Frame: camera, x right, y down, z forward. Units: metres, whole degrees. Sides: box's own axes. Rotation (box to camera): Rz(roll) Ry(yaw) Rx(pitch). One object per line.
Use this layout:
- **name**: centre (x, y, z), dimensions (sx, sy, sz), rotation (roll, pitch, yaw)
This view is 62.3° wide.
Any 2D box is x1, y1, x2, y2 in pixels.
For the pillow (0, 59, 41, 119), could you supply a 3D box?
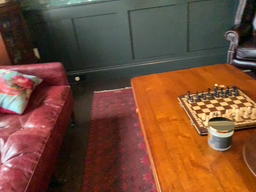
- **pillow**: centre (-0.920, -0.050, 1.560), dimensions (0.410, 0.260, 0.400), rotation (-11, 29, -7)
